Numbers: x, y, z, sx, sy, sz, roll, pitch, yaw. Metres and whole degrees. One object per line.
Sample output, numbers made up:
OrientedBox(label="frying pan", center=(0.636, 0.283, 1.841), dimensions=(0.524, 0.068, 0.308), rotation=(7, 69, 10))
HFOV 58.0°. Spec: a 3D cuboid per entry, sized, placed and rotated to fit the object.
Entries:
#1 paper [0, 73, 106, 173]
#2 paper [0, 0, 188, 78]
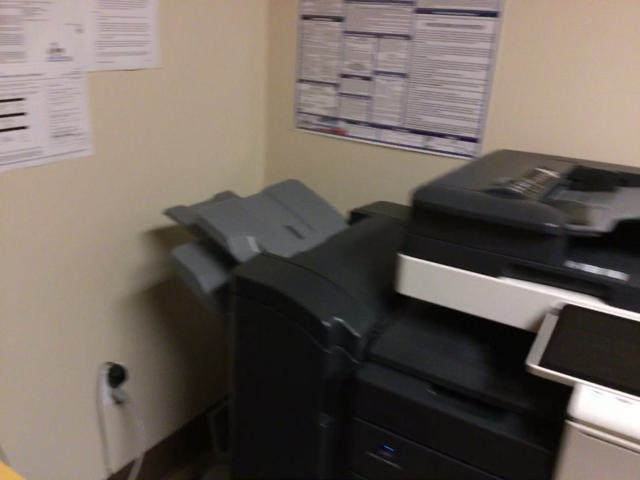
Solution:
OrientedBox(label="paper", center=(-0.590, -0.260, 1.250), dimensions=(0.020, 0.180, 0.250), rotation=(8, 22, 33))
OrientedBox(label="paper", center=(-0.600, -0.500, 1.120), dimensions=(0.040, 0.350, 0.870), rotation=(13, 24, 31))
